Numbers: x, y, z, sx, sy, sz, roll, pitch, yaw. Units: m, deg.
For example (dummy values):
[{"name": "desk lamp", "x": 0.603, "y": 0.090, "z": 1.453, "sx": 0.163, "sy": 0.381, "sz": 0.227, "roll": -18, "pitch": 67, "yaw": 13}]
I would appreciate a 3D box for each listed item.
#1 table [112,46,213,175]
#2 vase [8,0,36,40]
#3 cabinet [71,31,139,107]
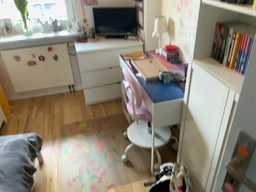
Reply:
[{"name": "table", "x": 0.240, "y": 0.060, "z": 2.140, "sx": 0.520, "sy": 0.760, "sz": 1.050, "roll": -10, "pitch": 32, "yaw": -13}, {"name": "vase", "x": -1.330, "y": -1.060, "z": 2.640, "sx": 0.160, "sy": 0.650, "sz": 0.270, "roll": -8, "pitch": 32, "yaw": -10}, {"name": "cabinet", "x": -0.290, "y": -0.380, "z": 2.860, "sx": 0.760, "sy": 0.790, "sz": 0.490, "roll": -11, "pitch": 33, "yaw": -14}]
